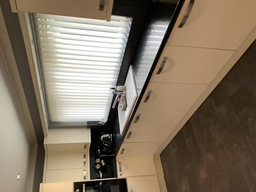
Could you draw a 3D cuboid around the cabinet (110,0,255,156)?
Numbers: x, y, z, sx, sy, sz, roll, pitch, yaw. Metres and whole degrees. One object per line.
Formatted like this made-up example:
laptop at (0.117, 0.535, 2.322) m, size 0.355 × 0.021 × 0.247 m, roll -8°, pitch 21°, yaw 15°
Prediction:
cabinet at (0.520, -0.310, 2.620) m, size 3.860 × 0.910 × 0.660 m, roll 110°, pitch 158°, yaw -51°
